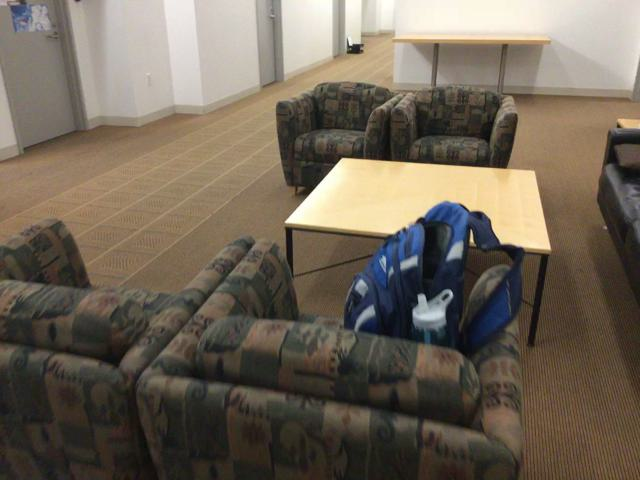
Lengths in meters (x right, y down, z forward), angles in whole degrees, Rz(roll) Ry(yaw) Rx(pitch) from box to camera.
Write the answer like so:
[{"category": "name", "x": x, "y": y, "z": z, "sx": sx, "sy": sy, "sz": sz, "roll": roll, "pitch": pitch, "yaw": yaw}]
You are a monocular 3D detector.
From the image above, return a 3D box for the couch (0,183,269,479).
[{"category": "couch", "x": -0.640, "y": 0.350, "z": 1.630, "sx": 0.750, "sy": 0.730, "sz": 0.750, "roll": 8, "pitch": 27, "yaw": 14}]
